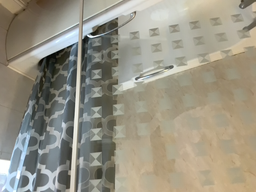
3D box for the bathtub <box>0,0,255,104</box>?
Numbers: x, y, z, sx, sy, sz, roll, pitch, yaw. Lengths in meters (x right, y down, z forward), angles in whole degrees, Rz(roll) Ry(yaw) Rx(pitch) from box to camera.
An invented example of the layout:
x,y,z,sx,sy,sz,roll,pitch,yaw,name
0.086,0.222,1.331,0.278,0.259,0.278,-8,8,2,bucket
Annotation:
x,y,z,sx,sy,sz,roll,pitch,yaw,name
0.030,-0.500,1.350,1.480,0.570,0.670,-16,151,23,bathtub
